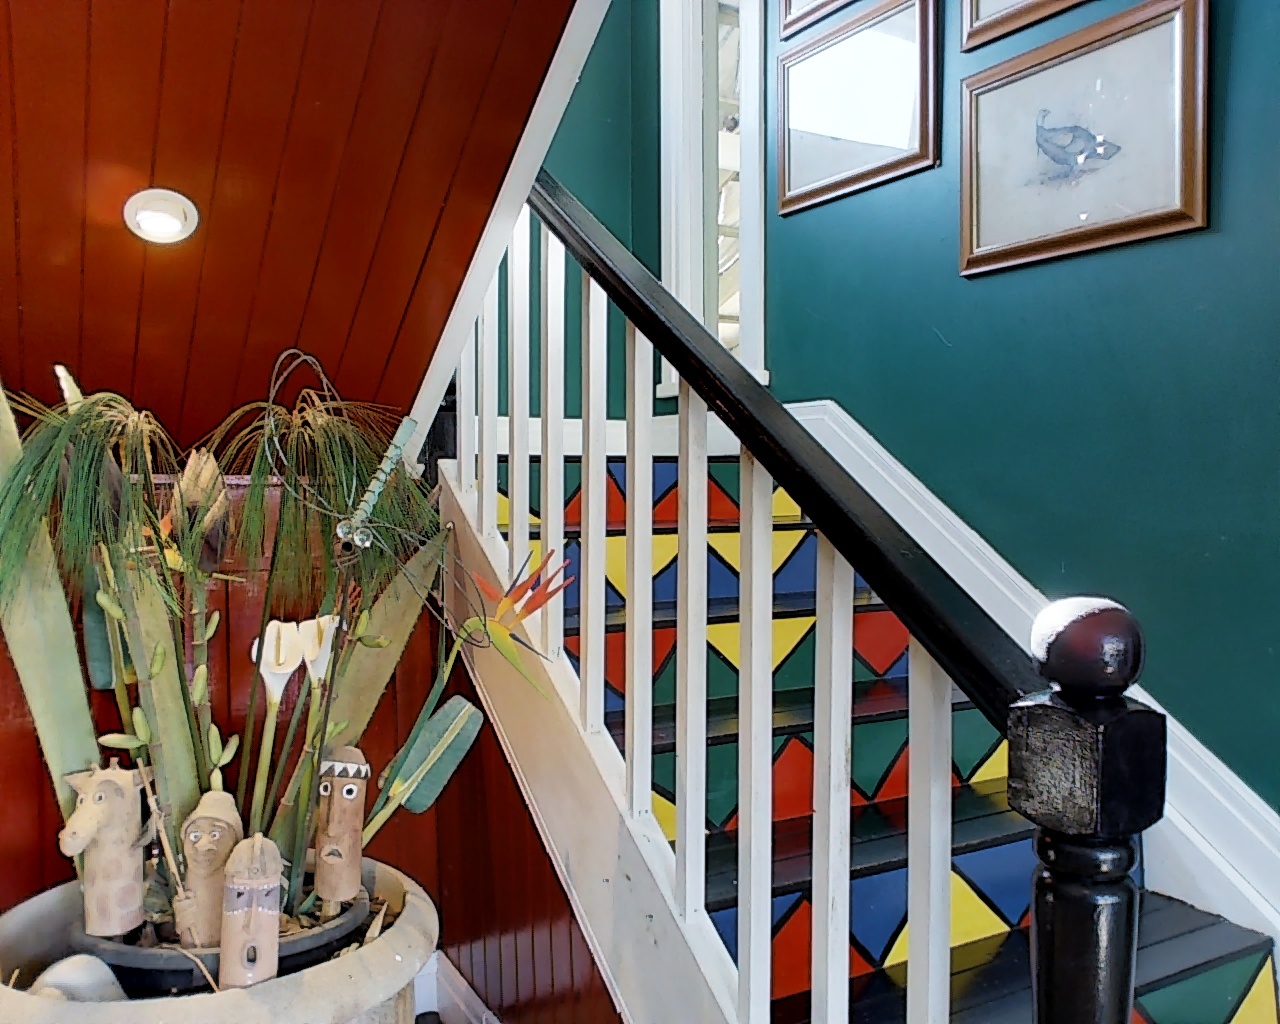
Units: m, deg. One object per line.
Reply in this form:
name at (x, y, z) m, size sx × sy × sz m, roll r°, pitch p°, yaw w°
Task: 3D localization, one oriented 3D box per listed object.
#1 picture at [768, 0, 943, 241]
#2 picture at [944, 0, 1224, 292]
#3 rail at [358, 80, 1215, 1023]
picture at (0.540, -1.030, 2.810) m, size 0.030 × 0.510 × 0.650 m, roll -1°, pitch 2°, yaw -29°
picture at (0.880, -0.750, 2.220) m, size 0.030 × 0.490 × 0.650 m, roll -1°, pitch 2°, yaw -29°
rail at (-0.090, 0.000, 1.740) m, size 0.210 × 0.730 × 1.950 m, roll -1°, pitch 37°, yaw -29°
